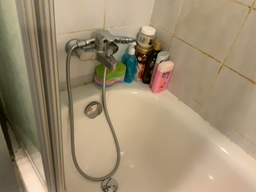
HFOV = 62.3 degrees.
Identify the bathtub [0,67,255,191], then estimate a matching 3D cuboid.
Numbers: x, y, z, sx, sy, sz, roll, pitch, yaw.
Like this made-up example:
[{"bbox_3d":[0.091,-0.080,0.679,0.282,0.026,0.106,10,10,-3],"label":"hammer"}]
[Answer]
[{"bbox_3d":[0.160,0.560,0.730,0.710,0.560,1.390,-20,48,-34],"label":"bathtub"}]
